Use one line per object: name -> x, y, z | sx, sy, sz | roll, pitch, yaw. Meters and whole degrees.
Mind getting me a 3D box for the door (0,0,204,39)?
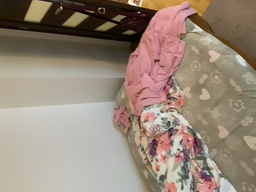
door -> -0.470, -0.670, 1.750 | 0.970, 2.130, 0.090 | 12, 103, 56
